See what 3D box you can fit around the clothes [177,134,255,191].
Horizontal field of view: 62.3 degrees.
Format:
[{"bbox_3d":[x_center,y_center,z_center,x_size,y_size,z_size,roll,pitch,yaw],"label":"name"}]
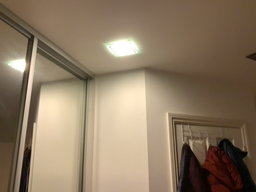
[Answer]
[{"bbox_3d":[0.810,0.880,1.600,0.820,1.130,0.220,7,-18,-26],"label":"clothes"}]
